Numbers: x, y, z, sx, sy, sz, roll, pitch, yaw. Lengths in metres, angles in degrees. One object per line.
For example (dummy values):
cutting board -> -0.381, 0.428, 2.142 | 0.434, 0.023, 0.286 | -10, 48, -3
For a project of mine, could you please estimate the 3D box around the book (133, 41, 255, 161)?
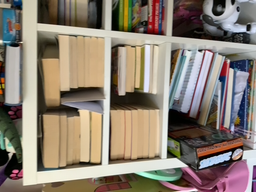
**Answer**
book -> 0.220, 0.000, 0.810 | 0.400, 0.260, 0.330 | -165, 76, -70

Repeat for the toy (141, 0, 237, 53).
toy -> 0.220, -0.360, 0.830 | 0.280, 0.240, 0.330 | -168, 79, -70

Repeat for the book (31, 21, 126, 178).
book -> -0.170, 0.000, 0.670 | 0.320, 0.220, 0.360 | -165, 76, -70
